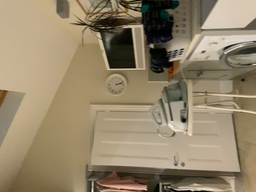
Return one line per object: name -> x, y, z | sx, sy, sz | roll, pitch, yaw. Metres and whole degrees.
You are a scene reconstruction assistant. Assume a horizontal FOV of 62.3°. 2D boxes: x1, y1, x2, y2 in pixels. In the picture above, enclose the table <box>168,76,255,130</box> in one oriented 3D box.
table -> 0.930, 0.010, 2.190 | 1.060, 0.930, 0.360 | -56, -35, -79
